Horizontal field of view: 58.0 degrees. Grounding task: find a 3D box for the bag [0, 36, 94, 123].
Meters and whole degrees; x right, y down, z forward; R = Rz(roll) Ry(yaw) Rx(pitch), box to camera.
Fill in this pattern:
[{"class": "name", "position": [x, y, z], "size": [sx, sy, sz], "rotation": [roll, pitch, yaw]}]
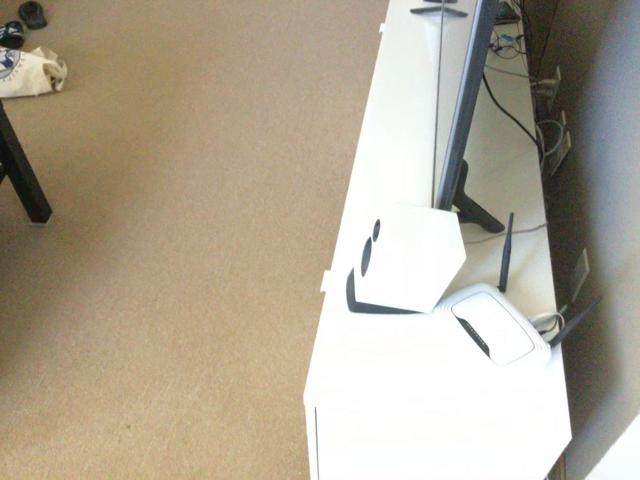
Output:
[{"class": "bag", "position": [-1.240, -0.650, 2.290], "size": [0.520, 0.140, 0.370], "rotation": [7, 45, 8]}]
